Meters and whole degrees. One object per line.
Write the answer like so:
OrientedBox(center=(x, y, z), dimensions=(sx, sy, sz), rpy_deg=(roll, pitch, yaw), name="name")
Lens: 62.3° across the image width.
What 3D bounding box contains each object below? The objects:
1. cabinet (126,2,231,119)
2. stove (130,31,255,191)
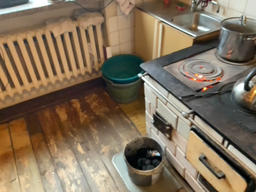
OrientedBox(center=(0.420, -0.400, 2.170), dimensions=(0.480, 0.810, 0.860), rpy_deg=(-22, 43, -22), name="cabinet")
OrientedBox(center=(0.700, 0.190, 1.460), dimensions=(0.950, 0.760, 1.020), rpy_deg=(-22, 43, -22), name="stove")
